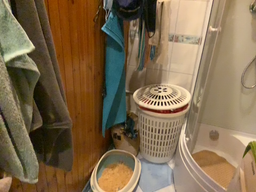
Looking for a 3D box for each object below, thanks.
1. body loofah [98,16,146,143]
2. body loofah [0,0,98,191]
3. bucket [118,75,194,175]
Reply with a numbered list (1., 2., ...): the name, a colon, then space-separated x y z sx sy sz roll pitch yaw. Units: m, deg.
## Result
1. body loofah: -0.050 -0.130 1.650 0.180 0.870 0.430 13 29 16
2. body loofah: -0.300 -0.090 0.670 0.200 0.960 0.480 13 29 16
3. bucket: 0.240 0.230 1.870 0.510 0.650 0.430 12 28 16
